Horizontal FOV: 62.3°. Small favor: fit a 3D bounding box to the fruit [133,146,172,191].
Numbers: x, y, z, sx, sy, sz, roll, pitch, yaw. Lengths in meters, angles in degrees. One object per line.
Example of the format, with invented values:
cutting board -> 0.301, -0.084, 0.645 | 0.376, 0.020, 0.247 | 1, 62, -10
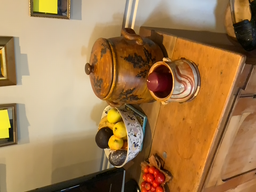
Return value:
fruit -> 0.090, 0.320, 0.840 | 0.130, 0.050, 0.190 | 40, 126, 51
